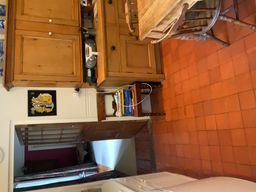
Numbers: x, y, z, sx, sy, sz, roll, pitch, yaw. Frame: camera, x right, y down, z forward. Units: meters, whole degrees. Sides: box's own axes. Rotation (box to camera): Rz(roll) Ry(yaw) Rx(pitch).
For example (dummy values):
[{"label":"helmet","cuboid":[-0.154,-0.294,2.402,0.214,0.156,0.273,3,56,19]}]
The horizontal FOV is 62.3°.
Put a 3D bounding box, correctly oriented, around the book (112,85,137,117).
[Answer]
[{"label":"book","cuboid":[-0.060,0.080,3.050,0.370,0.220,0.390,152,116,-65]}]
